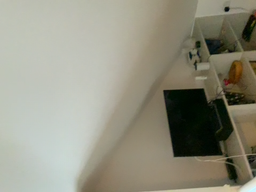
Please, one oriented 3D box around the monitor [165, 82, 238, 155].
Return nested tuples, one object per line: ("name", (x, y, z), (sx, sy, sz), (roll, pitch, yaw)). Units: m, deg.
("monitor", (0.680, 0.200, 2.100), (0.060, 0.560, 0.740), (75, -168, -55))
